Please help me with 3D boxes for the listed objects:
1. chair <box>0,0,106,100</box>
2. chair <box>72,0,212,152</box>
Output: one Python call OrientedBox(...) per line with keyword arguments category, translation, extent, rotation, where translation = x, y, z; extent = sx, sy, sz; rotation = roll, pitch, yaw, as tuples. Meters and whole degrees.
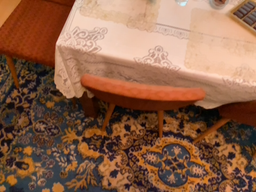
OrientedBox(category="chair", translation=(-0.460, -0.470, 1.230), extent=(0.440, 0.790, 0.630), rotation=(17, 66, 5))
OrientedBox(category="chair", translation=(0.060, -0.100, 1.090), extent=(0.410, 0.790, 0.570), rotation=(8, 65, 1))
